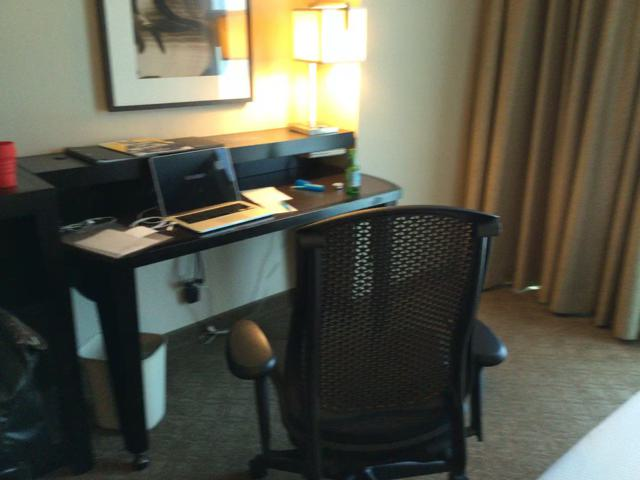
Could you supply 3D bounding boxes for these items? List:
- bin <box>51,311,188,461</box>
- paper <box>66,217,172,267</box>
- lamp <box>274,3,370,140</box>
[{"bbox_3d":[-0.730,0.510,2.110,0.320,0.320,0.370,-16,25,-42],"label":"bin"},{"bbox_3d":[-0.620,0.000,1.780,0.220,0.050,0.250,-16,25,-42],"label":"paper"},{"bbox_3d":[0.000,-0.690,2.370,0.250,0.500,0.290,-16,25,-42],"label":"lamp"}]
